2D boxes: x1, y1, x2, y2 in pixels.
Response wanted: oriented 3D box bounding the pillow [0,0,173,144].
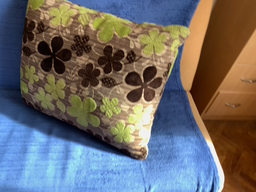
[{"bbox_3d":[-0.180,-0.120,0.840,0.600,0.480,0.320,4,50,25],"label":"pillow"}]
